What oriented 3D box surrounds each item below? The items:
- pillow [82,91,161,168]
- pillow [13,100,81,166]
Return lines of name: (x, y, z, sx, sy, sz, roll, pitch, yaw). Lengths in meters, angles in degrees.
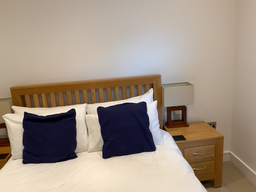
pillow: (-0.060, 0.280, 1.780, 0.490, 0.470, 0.200, 20, 14, -6)
pillow: (-0.660, 0.310, 1.750, 0.440, 0.440, 0.180, 11, 15, -12)
